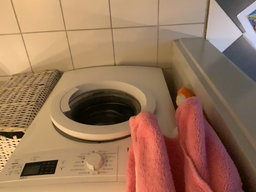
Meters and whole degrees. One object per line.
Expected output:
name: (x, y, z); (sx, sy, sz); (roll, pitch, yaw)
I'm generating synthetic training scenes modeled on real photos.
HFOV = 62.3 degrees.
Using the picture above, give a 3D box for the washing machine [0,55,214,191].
washing machine: (-0.080, 0.240, 1.060); (0.630, 0.850, 0.580); (-3, 121, 1)
